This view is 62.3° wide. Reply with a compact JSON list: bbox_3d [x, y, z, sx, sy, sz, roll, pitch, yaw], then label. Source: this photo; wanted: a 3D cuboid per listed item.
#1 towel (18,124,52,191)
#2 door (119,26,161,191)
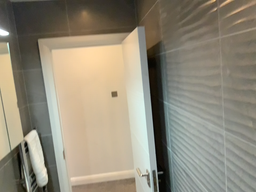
[{"bbox_3d":[-0.740,0.490,1.720,0.110,0.440,0.320,-6,8,-6],"label":"towel"},{"bbox_3d":[0.110,0.510,1.800,0.070,1.970,0.840,-7,8,-9],"label":"door"}]
